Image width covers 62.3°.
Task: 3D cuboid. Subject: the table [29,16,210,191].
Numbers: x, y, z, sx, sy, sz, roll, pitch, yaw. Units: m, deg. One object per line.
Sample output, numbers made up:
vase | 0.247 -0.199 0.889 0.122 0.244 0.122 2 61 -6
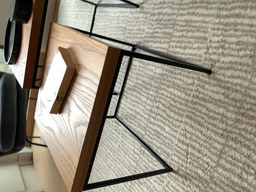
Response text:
table | -0.080 0.000 0.800 0.470 0.400 0.440 34 113 48

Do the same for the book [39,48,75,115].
book | -0.220 -0.040 0.640 0.160 0.040 0.120 -53 49 36
